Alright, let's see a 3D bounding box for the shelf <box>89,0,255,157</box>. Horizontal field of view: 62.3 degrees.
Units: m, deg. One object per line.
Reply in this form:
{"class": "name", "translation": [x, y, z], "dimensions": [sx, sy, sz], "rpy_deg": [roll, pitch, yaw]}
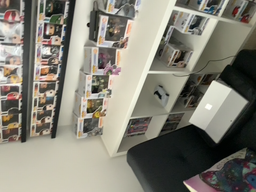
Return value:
{"class": "shelf", "translation": [0.290, -0.280, 1.490], "dimensions": [0.420, 0.760, 1.460], "rpy_deg": [54, 136, 40]}
